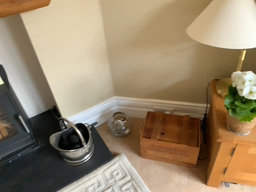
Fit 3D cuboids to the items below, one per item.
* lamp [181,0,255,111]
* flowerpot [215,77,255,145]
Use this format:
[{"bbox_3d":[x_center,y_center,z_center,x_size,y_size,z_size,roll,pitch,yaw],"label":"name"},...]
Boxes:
[{"bbox_3d":[0.470,-0.250,1.050,0.340,0.510,0.360,6,43,11],"label":"lamp"},{"bbox_3d":[0.510,0.070,0.920,0.180,0.260,0.140,5,43,10],"label":"flowerpot"}]
